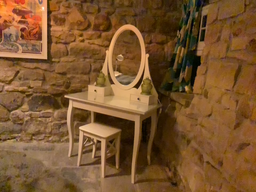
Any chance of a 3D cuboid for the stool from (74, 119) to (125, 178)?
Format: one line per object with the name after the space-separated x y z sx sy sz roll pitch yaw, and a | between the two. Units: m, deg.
-0.310 0.550 2.330 0.420 0.440 0.330 11 14 29 | stool
